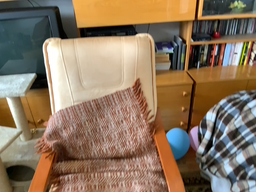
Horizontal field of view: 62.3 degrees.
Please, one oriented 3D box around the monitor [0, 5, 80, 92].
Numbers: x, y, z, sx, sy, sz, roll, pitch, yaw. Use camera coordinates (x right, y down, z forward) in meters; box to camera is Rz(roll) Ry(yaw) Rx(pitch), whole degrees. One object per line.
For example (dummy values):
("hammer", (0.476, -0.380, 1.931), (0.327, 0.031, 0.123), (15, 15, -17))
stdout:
("monitor", (-0.760, -0.370, 1.590), (0.700, 0.500, 0.430), (-6, 30, -6))
